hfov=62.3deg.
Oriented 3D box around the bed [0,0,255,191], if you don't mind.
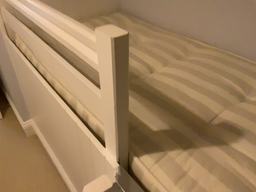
[{"bbox_3d":[0.260,0.170,1.100,1.020,1.300,2.350,-25,44,-32],"label":"bed"}]
